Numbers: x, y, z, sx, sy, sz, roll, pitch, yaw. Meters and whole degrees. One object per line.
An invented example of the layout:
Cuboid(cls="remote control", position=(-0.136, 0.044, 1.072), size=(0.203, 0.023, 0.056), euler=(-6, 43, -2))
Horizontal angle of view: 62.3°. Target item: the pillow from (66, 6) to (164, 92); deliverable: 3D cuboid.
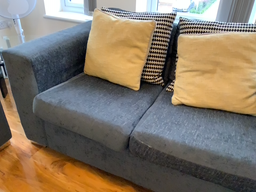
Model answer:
Cuboid(cls="pillow", position=(-0.050, -0.280, 1.300), size=(0.470, 0.440, 0.200), euler=(13, 58, 23))

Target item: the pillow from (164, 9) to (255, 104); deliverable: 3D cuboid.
Cuboid(cls="pillow", position=(0.480, -0.210, 1.200), size=(0.500, 0.460, 0.190), euler=(13, 59, 20))

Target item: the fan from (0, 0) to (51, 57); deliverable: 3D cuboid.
Cuboid(cls="fan", position=(-1.040, -0.800, 1.960), size=(0.510, 0.730, 0.430), euler=(-8, 33, -17))

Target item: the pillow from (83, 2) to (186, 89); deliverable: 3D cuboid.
Cuboid(cls="pillow", position=(0.060, -0.340, 1.450), size=(0.590, 0.470, 0.200), euler=(16, 59, 22))
